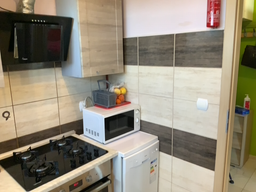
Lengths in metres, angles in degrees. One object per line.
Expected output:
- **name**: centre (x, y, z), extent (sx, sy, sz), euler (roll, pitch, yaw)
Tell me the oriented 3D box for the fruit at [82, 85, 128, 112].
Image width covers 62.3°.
- **fruit**: centre (-0.220, 0.010, 2.030), extent (0.310, 0.170, 0.300), euler (10, 16, 41)
